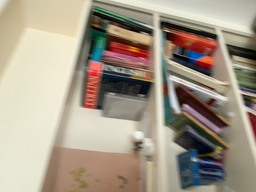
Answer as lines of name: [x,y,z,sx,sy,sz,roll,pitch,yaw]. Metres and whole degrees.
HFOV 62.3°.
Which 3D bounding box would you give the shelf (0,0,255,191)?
shelf: [0.450,0.180,0.850,0.280,2.100,1.150,111,166,-53]
